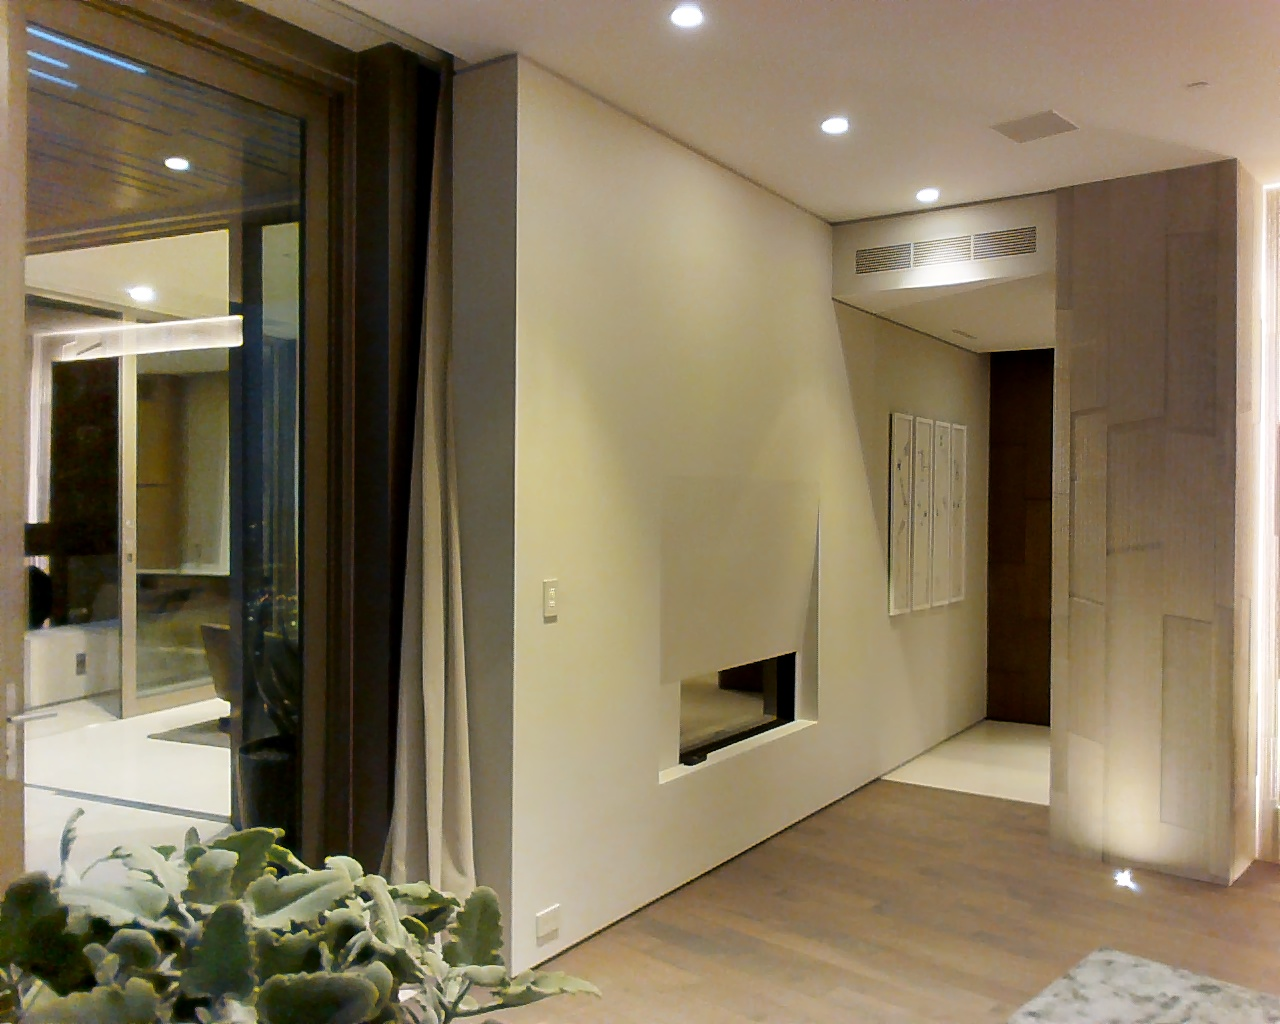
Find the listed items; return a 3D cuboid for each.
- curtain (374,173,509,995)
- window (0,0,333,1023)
[{"bbox_3d":[-0.640,0.220,3.490,0.300,2.520,0.280,1,0,28],"label":"curtain"},{"bbox_3d":[-1.420,0.080,3.230,0.130,2.840,1.160,1,0,31],"label":"window"}]
